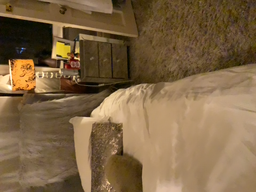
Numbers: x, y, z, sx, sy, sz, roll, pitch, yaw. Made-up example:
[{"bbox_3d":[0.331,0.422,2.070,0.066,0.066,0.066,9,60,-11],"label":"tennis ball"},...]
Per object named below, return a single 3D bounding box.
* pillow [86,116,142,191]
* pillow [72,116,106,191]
[{"bbox_3d":[-0.130,0.510,1.540,0.170,0.590,0.710,-1,86,-27],"label":"pillow"},{"bbox_3d":[-0.350,0.560,1.850,0.160,0.340,0.750,-1,86,-31],"label":"pillow"}]
